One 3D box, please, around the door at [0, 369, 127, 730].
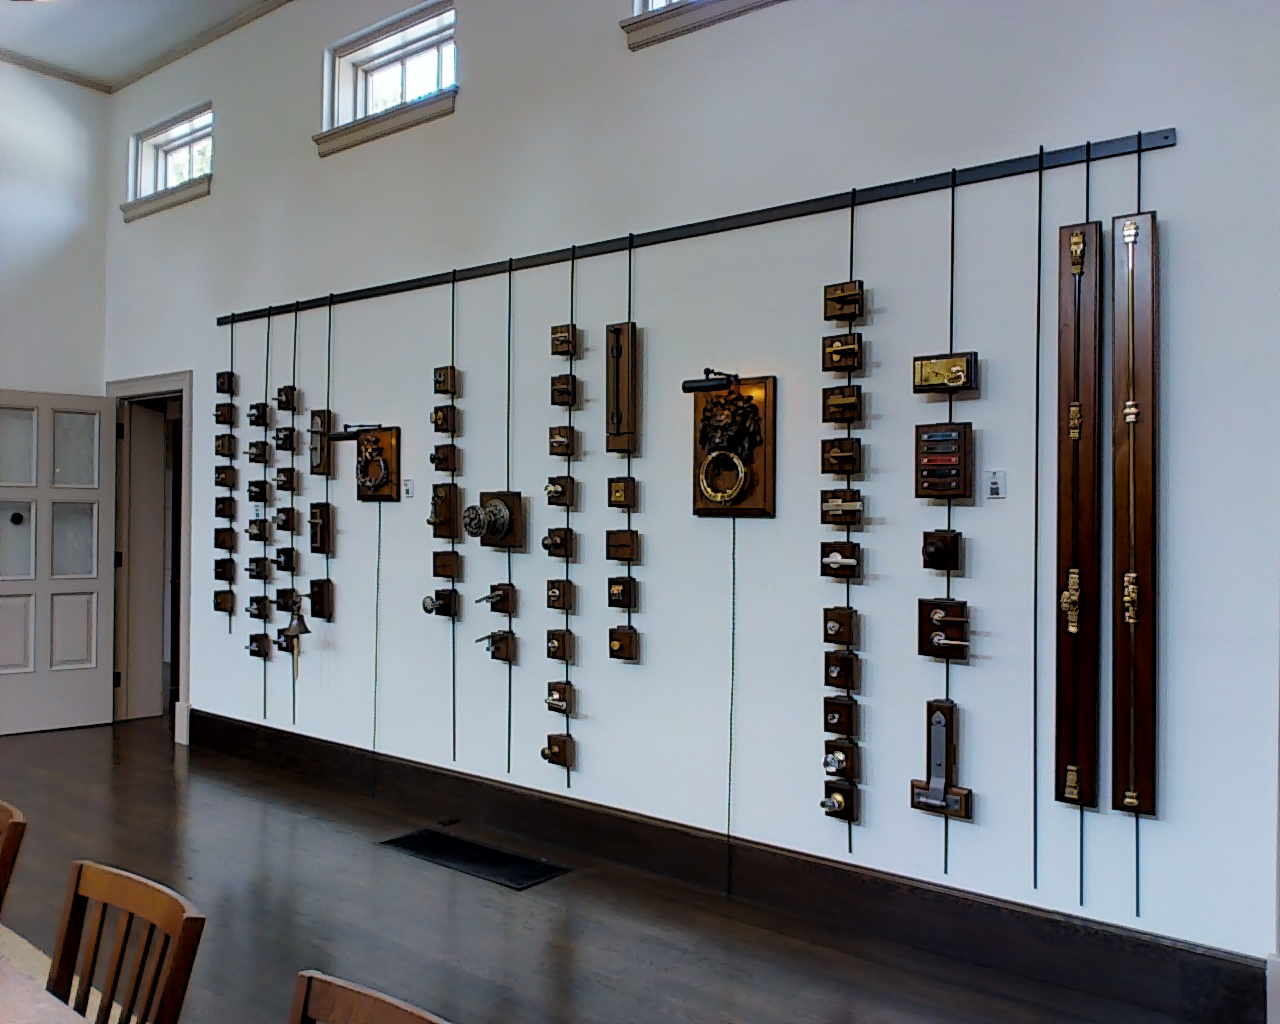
[{"bbox_3d":[-3.930,0.250,7.300,0.780,2.360,0.080,1,0,-41],"label":"door"}]
